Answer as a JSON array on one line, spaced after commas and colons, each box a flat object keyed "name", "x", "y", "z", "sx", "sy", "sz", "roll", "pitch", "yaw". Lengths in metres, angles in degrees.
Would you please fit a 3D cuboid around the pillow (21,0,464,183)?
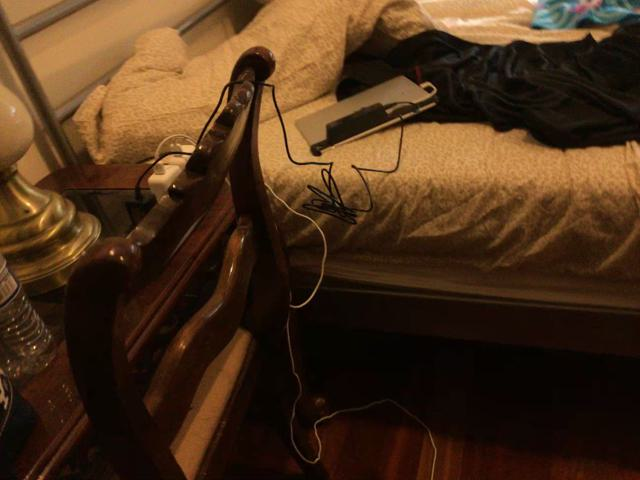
[{"name": "pillow", "x": -0.080, "y": -0.410, "z": 1.220, "sx": 0.670, "sy": 0.190, "sz": 0.750, "roll": 0, "pitch": 37, "yaw": 20}]

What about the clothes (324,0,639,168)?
[{"name": "clothes", "x": 0.380, "y": -0.360, "z": 1.050, "sx": 0.590, "sy": 0.160, "sz": 0.580, "roll": 0, "pitch": 37, "yaw": 20}]
